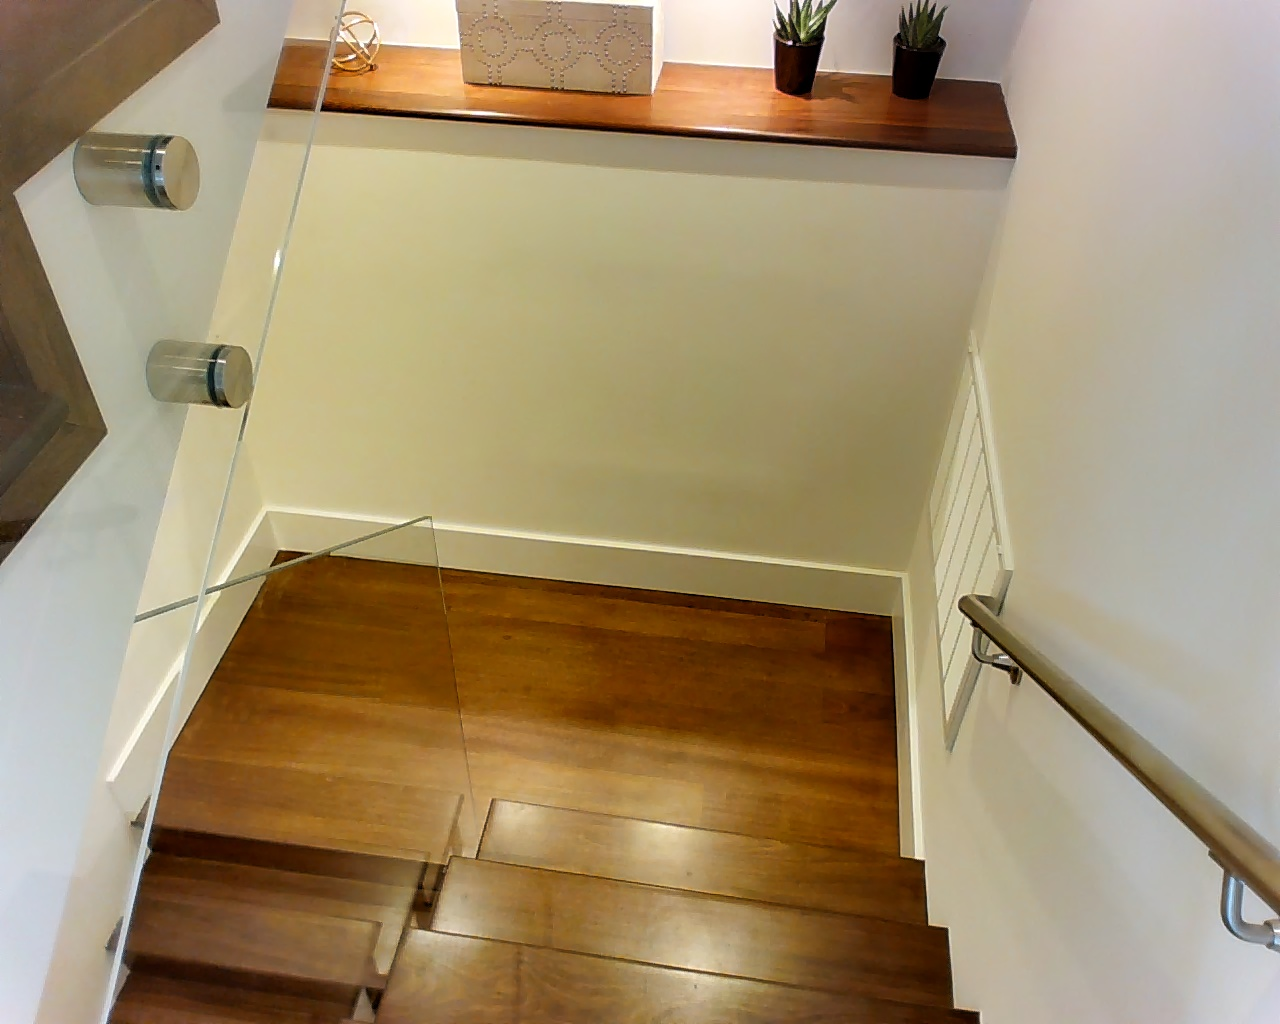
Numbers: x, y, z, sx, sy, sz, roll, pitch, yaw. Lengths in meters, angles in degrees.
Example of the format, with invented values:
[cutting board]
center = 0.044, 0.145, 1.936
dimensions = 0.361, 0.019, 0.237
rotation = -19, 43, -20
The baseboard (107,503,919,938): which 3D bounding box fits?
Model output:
[baseboard]
center = -0.270, 0.510, 3.070
dimensions = 2.020, 0.220, 1.050
rotation = 6, 43, 6
